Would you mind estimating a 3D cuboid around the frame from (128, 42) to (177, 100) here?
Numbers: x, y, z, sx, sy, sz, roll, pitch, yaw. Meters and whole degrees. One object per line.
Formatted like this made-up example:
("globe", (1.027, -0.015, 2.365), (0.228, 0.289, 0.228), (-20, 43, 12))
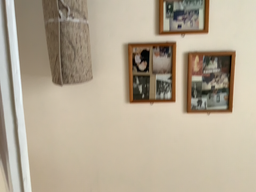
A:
("frame", (0.130, -0.130, 1.130), (0.250, 0.300, 0.020), (0, -171, 3))
